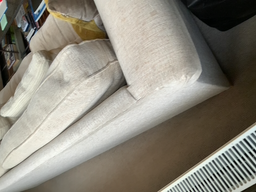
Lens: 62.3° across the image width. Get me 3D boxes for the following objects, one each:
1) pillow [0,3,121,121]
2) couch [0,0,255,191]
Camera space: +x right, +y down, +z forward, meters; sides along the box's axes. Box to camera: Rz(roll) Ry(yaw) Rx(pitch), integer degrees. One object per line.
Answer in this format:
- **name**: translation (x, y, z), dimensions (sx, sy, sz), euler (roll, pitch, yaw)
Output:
- **pillow**: translation (-0.380, -0.120, 1.090), dimensions (0.570, 0.500, 0.220), euler (-16, 65, 2)
- **couch**: translation (-0.600, -0.020, 1.450), dimensions (2.200, 0.810, 1.040), euler (-34, 69, 34)
